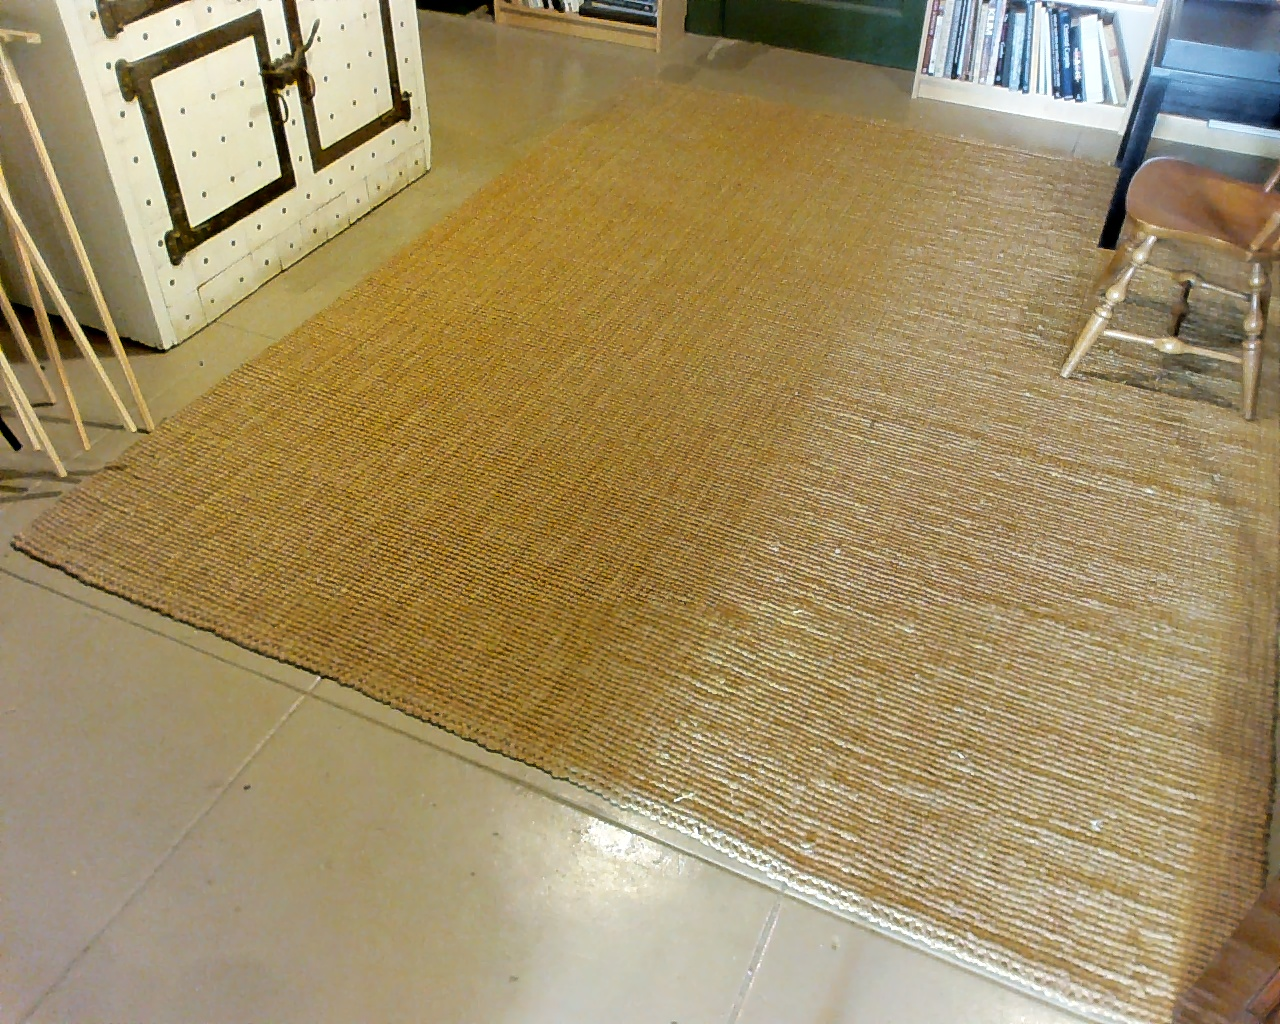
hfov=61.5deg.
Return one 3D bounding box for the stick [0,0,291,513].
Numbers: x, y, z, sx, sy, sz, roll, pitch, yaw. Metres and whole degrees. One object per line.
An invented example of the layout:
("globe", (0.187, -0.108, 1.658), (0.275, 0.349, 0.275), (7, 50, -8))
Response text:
("stick", (-1.550, -0.980, 2.180), (1.110, 1.630, 0.710), (18, 44, 18))
